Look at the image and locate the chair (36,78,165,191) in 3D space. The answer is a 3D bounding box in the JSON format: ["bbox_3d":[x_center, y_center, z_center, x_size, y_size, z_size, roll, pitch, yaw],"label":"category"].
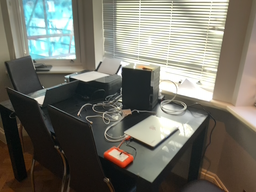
[{"bbox_3d":[-0.130,0.470,1.400,0.410,1.000,0.630,16,26,33],"label":"chair"}]
